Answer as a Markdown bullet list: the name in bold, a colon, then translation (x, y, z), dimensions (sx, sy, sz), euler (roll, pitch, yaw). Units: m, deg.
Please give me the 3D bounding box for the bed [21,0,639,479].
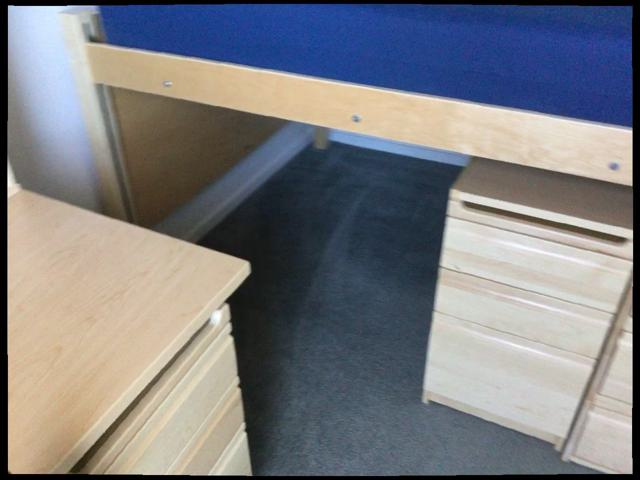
- **bed**: translation (0.619, -0.341, 1.890), dimensions (2.247, 1.121, 1.590), euler (16, 40, 21)
